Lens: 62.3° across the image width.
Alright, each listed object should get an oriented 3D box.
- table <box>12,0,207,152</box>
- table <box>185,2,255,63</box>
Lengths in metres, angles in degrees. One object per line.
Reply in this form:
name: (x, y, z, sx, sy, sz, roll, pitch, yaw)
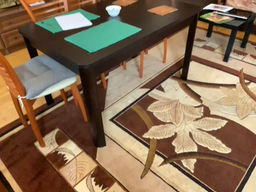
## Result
table: (-0.080, -0.380, 1.980, 0.890, 0.790, 1.340, 30, 49, 33)
table: (1.150, -0.830, 2.700, 0.550, 0.470, 0.540, -32, 48, -32)
